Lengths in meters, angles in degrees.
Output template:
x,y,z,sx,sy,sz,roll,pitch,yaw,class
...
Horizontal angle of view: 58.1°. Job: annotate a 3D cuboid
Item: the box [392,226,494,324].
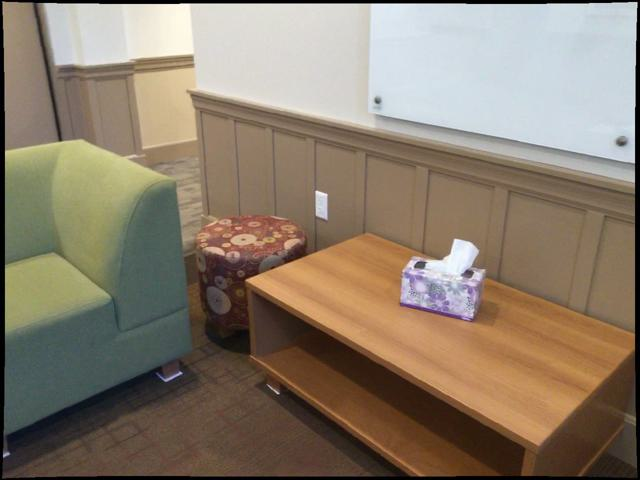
x,y,z,sx,sy,sz,roll,pitch,yaw,class
0.379,0.100,1.780,0.250,0.190,0.190,12,27,26,box
